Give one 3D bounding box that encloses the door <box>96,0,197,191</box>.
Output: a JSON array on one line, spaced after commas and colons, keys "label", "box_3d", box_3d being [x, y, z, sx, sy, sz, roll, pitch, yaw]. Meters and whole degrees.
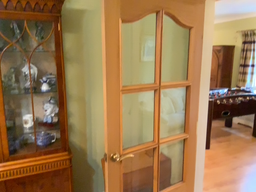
[{"label": "door", "box_3d": [0.150, 0.310, 1.390, 0.710, 1.980, 0.060, -8, 13, -35]}]
